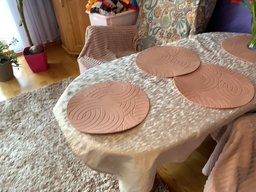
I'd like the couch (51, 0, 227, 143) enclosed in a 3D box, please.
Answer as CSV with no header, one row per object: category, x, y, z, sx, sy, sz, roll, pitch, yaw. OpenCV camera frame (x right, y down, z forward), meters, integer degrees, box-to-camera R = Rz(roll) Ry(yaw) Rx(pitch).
couch,0.070,-0.440,1.840,1.010,1.030,0.880,-25,44,-24
